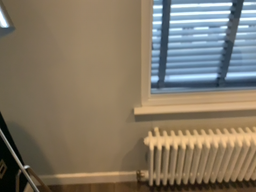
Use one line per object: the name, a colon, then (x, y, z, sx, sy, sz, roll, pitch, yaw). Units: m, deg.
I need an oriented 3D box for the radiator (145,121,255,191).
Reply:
radiator: (0.640, 0.430, 1.450, 1.030, 0.530, 0.140, -3, 34, -1)
